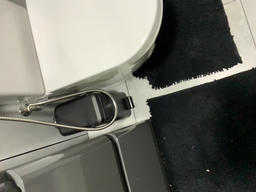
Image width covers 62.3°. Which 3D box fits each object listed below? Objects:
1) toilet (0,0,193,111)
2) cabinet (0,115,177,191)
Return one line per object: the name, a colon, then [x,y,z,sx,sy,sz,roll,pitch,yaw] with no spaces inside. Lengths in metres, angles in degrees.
toilet: [-0.210,-0.220,0.740,0.660,0.830,0.390,-16,85,24]
cabinet: [-0.130,0.450,0.770,0.430,0.760,0.600,-16,85,24]
